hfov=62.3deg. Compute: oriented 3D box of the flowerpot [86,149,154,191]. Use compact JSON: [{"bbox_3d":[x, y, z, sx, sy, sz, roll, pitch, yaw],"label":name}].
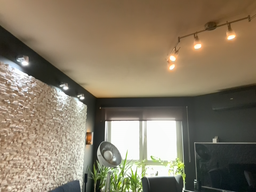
[{"bbox_3d":[-0.130,1.660,4.490,1.300,0.990,0.740,-1,-12,10],"label":"flowerpot"}]
